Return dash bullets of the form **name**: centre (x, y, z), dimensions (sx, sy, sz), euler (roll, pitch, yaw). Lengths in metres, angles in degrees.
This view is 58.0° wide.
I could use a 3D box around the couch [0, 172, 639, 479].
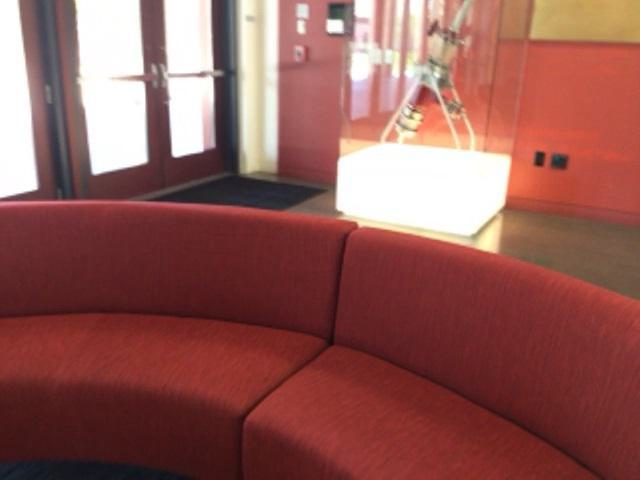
- **couch**: centre (-0.280, 0.440, 1.600), dimensions (2.950, 0.770, 1.200), euler (9, 19, 19)
